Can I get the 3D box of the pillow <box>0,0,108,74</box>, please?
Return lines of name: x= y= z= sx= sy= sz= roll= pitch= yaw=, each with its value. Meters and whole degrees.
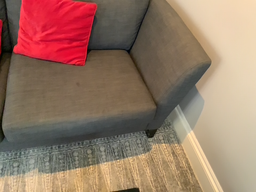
pillow: x=-0.450 y=-0.420 z=1.340 sx=0.440 sy=0.440 sz=0.180 roll=43 pitch=39 yaw=-35
